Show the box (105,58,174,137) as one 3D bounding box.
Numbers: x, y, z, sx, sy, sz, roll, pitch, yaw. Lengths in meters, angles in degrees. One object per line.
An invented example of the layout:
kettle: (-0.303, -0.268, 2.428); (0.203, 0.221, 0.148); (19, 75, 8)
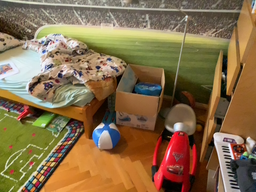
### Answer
box: (0.130, -0.020, 2.190); (0.500, 0.440, 0.630); (14, 37, 16)

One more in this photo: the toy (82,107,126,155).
toy: (-0.210, 0.310, 1.960); (0.270, 0.200, 0.350); (14, 37, 16)

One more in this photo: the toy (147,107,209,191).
toy: (0.390, 0.410, 1.640); (0.320, 0.380, 0.480); (15, 37, 17)
